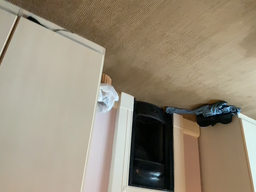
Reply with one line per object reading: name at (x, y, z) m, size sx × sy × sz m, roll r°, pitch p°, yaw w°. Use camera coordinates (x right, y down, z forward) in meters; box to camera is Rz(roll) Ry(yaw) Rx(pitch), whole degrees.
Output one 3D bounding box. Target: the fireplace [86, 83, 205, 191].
fireplace at (0.200, 0.620, 1.880) m, size 1.000 × 1.160 × 0.340 m, roll 20°, pitch 150°, yaw -29°
